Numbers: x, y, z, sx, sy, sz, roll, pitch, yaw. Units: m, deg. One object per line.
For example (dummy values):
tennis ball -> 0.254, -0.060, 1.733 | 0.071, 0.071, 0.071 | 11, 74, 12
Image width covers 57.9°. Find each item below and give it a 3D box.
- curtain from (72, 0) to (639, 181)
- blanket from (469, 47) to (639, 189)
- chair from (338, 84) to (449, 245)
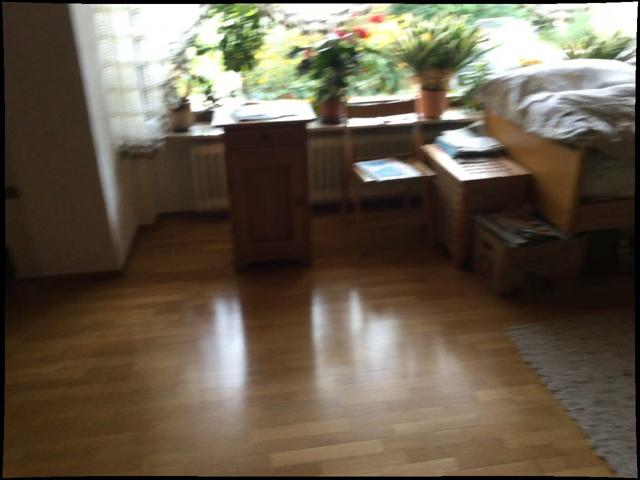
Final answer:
curtain -> 0.689, -1.261, 3.060 | 3.736, 1.581, 0.380 | -5, 28, -6
blanket -> 1.429, -0.641, 2.800 | 1.089, 0.390, 0.900 | -5, 28, -6
chair -> 0.390, -0.450, 3.320 | 0.470, 0.731, 0.590 | -5, 28, -6
